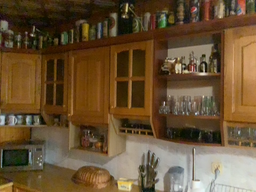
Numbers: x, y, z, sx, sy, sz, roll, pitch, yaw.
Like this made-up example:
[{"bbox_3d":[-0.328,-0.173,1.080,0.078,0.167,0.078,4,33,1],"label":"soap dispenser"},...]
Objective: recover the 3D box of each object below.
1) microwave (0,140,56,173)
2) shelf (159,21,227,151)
[{"bbox_3d":[-1.200,0.700,2.550,0.400,0.250,0.470,1,-3,30],"label":"microwave"},{"bbox_3d":[0.510,-0.070,1.650,0.430,0.870,0.290,1,-1,31],"label":"shelf"}]
